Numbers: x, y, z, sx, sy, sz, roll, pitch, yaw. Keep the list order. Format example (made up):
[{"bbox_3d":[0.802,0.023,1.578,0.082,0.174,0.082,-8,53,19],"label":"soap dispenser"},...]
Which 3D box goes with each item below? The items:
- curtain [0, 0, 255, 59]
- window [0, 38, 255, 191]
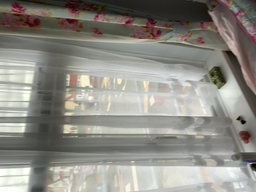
[{"bbox_3d":[-0.170,-0.450,1.120,0.190,1.870,0.260,114,153,-48],"label":"curtain"},{"bbox_3d":[-0.050,0.290,0.910,0.060,1.550,1.390,114,153,-48],"label":"window"}]
